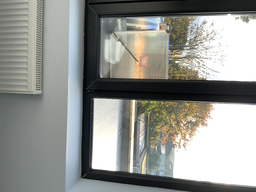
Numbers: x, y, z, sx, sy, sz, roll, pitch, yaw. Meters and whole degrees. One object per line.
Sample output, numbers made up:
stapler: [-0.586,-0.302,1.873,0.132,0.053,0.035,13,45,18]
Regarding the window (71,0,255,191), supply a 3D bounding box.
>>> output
window: [0.360,-0.580,1.320,0.080,1.400,2.380,-6,99,-80]
